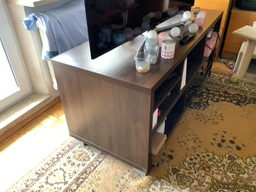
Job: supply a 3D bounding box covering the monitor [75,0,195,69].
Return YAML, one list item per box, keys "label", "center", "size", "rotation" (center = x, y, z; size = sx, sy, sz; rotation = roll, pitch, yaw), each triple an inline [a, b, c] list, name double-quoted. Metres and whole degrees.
- label: "monitor"
  center: [0.170, -0.740, 1.210]
  size: [0.070, 0.770, 1.230]
  rotation: [23, 41, 28]
